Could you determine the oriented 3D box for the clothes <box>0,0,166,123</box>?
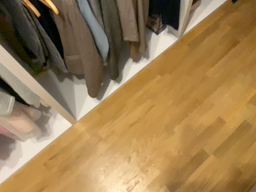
[{"bbox_3d":[-0.280,-0.450,1.080,0.810,0.950,0.550,-41,72,-14],"label":"clothes"}]
